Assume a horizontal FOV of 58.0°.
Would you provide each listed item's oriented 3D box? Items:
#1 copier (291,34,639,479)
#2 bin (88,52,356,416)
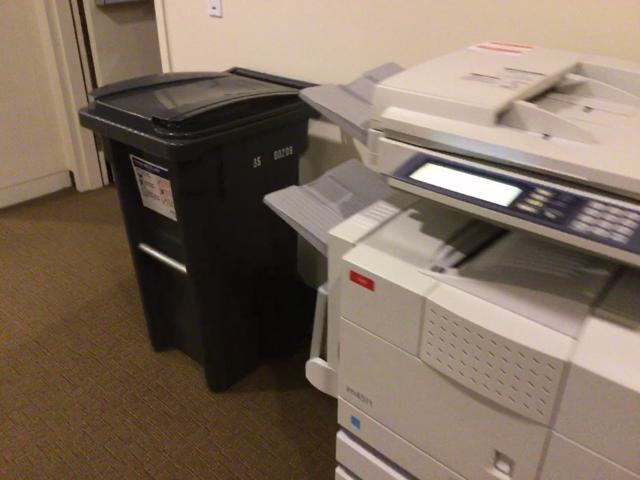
[{"bbox_3d":[0.410,0.240,1.170,0.660,1.100,0.650,26,38,37],"label":"copier"},{"bbox_3d":[-0.270,-0.050,1.830,0.470,0.910,0.570,26,38,37],"label":"bin"}]
